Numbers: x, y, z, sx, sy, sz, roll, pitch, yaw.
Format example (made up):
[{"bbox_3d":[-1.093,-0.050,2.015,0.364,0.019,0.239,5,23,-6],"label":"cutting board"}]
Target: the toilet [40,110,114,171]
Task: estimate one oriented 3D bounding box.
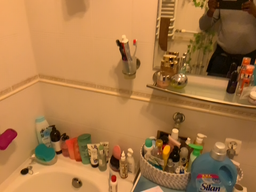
[{"bbox_3d":[-0.320,0.280,1.360,0.440,0.270,0.120,10,28,17],"label":"toilet"}]
